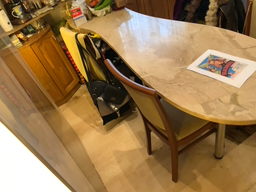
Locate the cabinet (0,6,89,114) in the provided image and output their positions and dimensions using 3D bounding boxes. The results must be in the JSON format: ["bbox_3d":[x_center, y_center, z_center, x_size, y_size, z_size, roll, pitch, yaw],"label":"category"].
[{"bbox_3d":[-0.980,-0.400,2.470,0.540,0.980,0.550,-33,44,-15],"label":"cabinet"}]

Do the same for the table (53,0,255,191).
[{"bbox_3d":[0.140,-0.250,1.980,0.660,0.870,2.390,-33,44,-15],"label":"table"}]
